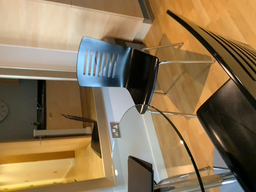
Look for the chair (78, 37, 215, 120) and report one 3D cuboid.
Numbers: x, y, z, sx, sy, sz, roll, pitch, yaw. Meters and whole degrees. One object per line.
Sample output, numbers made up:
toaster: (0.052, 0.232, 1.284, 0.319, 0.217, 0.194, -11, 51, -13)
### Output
chair: (0.110, -0.120, 1.570, 0.400, 0.850, 0.390, -119, 37, -48)
